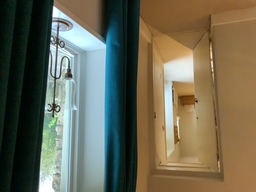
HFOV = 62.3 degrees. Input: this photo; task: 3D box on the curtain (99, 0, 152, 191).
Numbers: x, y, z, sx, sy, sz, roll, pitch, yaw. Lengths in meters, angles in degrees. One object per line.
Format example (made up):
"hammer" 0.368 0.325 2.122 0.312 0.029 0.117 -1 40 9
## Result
"curtain" -0.010 -0.010 1.820 0.270 2.220 0.550 -3 172 17
